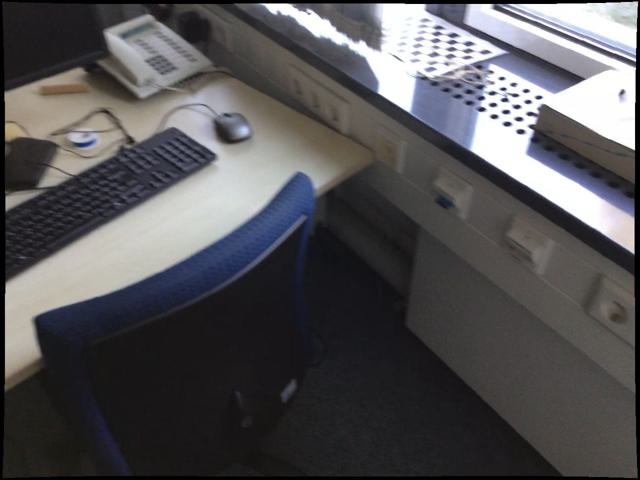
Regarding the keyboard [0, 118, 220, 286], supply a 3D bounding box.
[{"bbox_3d":[-0.410,-0.090,1.080,0.140,0.040,0.450,33,55,31],"label":"keyboard"}]
